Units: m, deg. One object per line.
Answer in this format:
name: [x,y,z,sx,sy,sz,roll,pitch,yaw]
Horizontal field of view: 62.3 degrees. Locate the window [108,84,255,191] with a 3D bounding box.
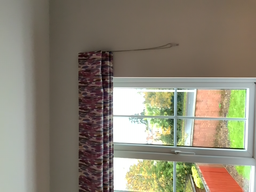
window: [0.370,0.490,1.580,0.050,1.050,1.140,-19,-70,-81]
